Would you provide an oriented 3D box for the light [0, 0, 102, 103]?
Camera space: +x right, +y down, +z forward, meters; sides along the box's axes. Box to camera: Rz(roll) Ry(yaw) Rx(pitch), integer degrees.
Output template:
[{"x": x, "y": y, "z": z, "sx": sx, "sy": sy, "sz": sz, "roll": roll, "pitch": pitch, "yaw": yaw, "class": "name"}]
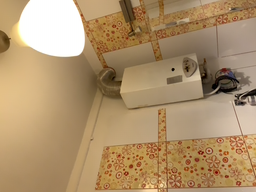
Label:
[{"x": -0.430, "y": -0.240, "z": 1.030, "sx": 0.420, "sy": 0.410, "sz": 0.340, "roll": -19, "pitch": 68, "yaw": 13, "class": "light"}]
